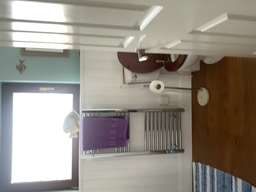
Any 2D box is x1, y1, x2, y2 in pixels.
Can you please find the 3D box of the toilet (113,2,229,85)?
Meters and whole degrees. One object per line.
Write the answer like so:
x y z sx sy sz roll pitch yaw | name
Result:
0.320 -0.390 1.890 0.660 0.810 0.520 171 99 -78 | toilet

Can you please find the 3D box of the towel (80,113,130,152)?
-0.220 0.330 1.990 0.160 0.420 0.300 160 103 -78 | towel
